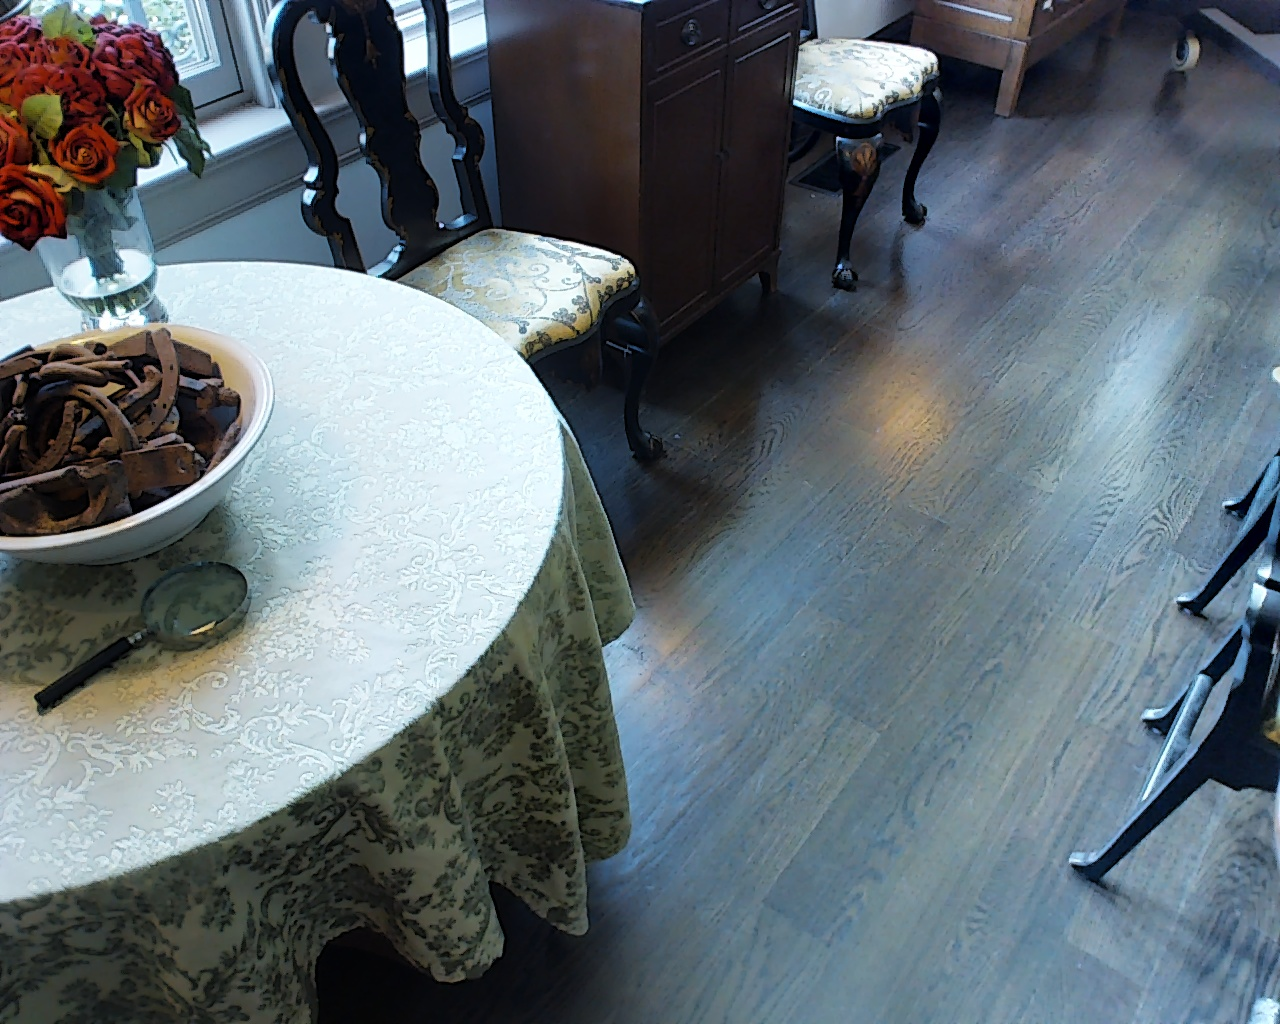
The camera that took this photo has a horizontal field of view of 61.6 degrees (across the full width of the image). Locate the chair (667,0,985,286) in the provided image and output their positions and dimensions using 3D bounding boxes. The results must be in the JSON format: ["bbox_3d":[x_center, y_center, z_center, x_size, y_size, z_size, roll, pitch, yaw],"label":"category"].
[{"bbox_3d":[0.490,-1.240,2.830,0.600,0.990,0.560,27,49,26],"label":"chair"}]

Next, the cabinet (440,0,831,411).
[{"bbox_3d":[0.010,-0.870,2.530,0.520,0.910,0.710,27,49,26],"label":"cabinet"}]

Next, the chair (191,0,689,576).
[{"bbox_3d":[-0.320,-0.510,2.030,0.620,1.020,0.500,25,48,24],"label":"chair"}]

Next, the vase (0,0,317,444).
[{"bbox_3d":[-0.700,-0.400,1.330,0.340,0.400,0.380,28,49,26],"label":"vase"}]
